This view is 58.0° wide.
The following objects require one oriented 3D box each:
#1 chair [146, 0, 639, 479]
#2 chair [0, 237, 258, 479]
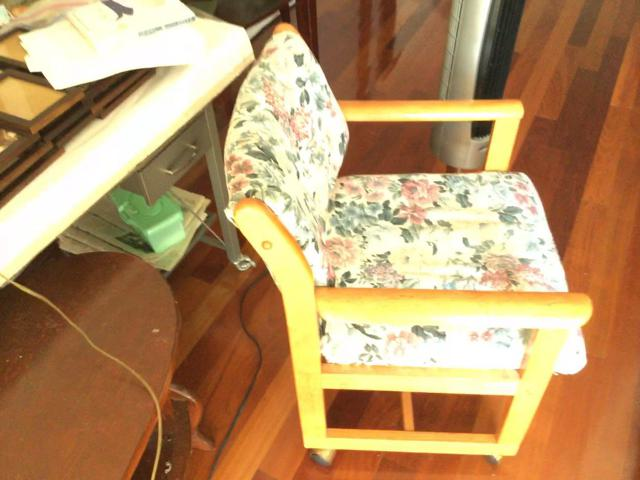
[{"bbox_3d":[0.190,0.030,1.210,0.700,0.830,0.760,1,53,5],"label":"chair"},{"bbox_3d":[-0.430,0.420,1.030,0.370,0.610,0.510,17,56,16],"label":"chair"}]
